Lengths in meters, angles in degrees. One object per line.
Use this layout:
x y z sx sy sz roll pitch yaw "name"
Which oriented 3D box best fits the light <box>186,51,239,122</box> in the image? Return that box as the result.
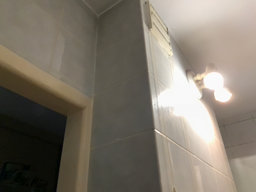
0.460 -0.040 1.150 0.150 0.240 0.290 -21 -37 27 "light"
